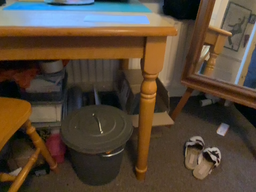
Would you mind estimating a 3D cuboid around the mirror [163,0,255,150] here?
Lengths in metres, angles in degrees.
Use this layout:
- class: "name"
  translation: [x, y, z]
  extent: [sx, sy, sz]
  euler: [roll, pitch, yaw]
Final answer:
- class: "mirror"
  translation: [0.550, -0.540, 1.070]
  extent: [0.240, 1.640, 0.710]
  euler: [-30, 40, -34]
